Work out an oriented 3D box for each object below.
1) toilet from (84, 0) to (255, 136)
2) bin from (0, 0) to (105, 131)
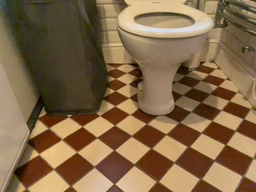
[{"bbox_3d":[0.140,-0.430,0.900,0.530,0.940,0.710,-1,34,0],"label":"toilet"},{"bbox_3d":[-0.260,-0.290,0.990,0.240,0.600,0.650,-3,34,-2],"label":"bin"}]
